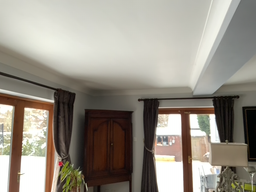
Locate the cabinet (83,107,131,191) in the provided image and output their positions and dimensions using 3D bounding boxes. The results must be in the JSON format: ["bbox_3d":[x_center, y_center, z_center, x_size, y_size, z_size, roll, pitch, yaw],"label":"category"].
[{"bbox_3d":[-0.370,1.190,4.080,0.730,1.880,0.720,-2,-8,10],"label":"cabinet"}]
